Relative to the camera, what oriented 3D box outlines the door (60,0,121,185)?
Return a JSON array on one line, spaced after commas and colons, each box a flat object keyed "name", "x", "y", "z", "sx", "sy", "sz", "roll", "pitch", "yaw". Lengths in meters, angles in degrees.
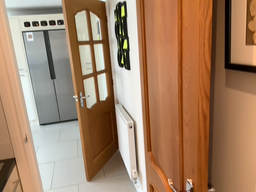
[{"name": "door", "x": -0.370, "y": -0.090, "z": 2.520, "sx": 0.100, "sy": 2.070, "sz": 0.780, "roll": 3, "pitch": 16, "yaw": 23}]
